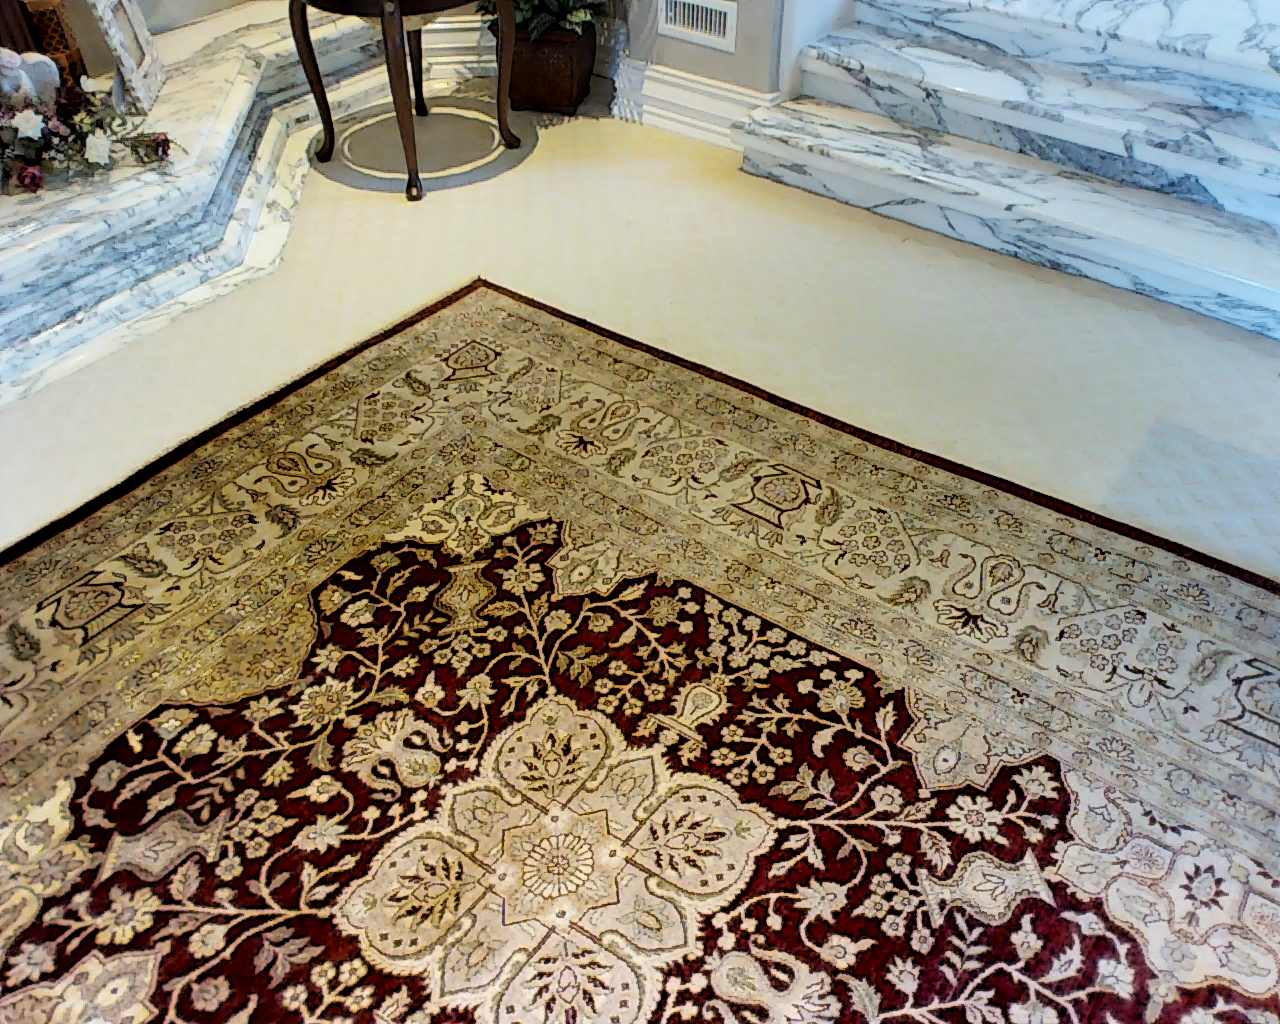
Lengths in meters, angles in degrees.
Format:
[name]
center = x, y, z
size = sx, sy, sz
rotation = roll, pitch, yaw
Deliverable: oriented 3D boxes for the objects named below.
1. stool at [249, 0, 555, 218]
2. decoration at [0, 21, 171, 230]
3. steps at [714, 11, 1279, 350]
[stool]
center = -0.730, -1.390, 3.280
size = 0.650, 0.590, 0.660
rotation = -26, 48, -26
[decoration]
center = -1.500, -0.960, 2.610
size = 0.390, 0.280, 0.450
rotation = 27, 49, 27
[steps]
center = 1.400, -0.820, 2.800
size = 2.560, 0.350, 0.510
rotation = 27, 49, 27
